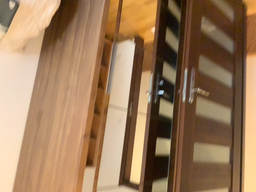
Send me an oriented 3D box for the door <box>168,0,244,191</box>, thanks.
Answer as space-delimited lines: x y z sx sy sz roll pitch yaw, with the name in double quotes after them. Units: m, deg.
0.690 -0.080 1.710 0.770 2.060 0.140 16 166 -40 "door"
